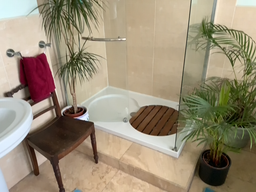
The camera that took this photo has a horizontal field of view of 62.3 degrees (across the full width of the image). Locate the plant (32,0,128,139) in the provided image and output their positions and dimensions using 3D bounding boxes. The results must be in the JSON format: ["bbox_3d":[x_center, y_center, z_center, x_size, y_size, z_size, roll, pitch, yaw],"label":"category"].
[{"bbox_3d":[-0.380,-0.430,2.110,0.390,1.460,0.790,15,31,27],"label":"plant"}]

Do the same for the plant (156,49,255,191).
[{"bbox_3d":[0.770,0.250,1.640,0.780,0.950,0.800,16,32,29],"label":"plant"}]

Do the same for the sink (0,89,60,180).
[{"bbox_3d":[-0.840,0.240,1.170,0.540,0.210,0.670,14,32,26],"label":"sink"}]
